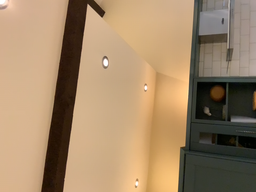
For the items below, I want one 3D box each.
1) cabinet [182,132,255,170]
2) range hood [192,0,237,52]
[{"bbox_3d":[1.080,0.600,2.370,0.330,0.860,0.290,19,-106,-65],"label":"cabinet"},{"bbox_3d":[1.080,-1.000,2.640,0.320,0.470,0.790,18,-105,-65],"label":"range hood"}]
